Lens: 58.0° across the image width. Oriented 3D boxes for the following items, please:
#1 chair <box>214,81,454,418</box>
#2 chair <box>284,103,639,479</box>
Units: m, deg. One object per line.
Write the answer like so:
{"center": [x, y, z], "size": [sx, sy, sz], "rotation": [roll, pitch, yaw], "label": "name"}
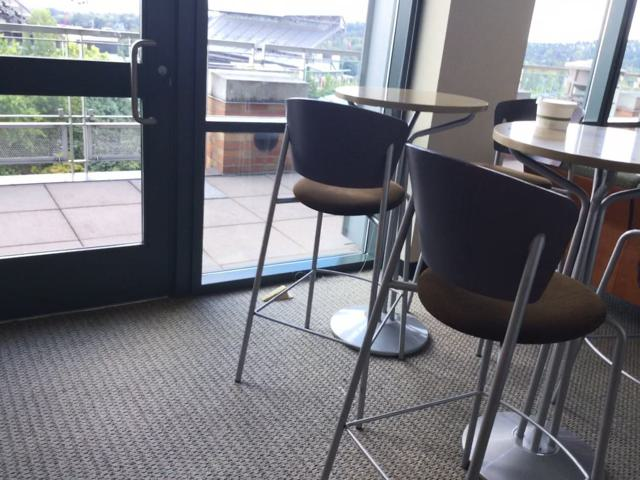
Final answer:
{"center": [0.080, -0.030, 2.090], "size": [0.570, 0.990, 0.630], "rotation": [10, 23, 27], "label": "chair"}
{"center": [0.340, 0.260, 1.350], "size": [0.600, 1.040, 0.570], "rotation": [-14, 24, -32], "label": "chair"}
